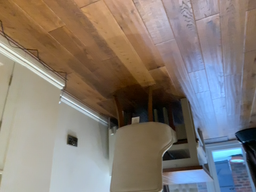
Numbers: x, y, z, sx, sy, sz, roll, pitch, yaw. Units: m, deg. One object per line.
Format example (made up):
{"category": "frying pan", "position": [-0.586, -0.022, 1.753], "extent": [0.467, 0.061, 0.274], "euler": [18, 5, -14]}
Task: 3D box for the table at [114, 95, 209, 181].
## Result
{"category": "table", "position": [0.550, 0.720, 2.970], "extent": [0.880, 0.740, 1.570], "euler": [-13, 152, 18]}
